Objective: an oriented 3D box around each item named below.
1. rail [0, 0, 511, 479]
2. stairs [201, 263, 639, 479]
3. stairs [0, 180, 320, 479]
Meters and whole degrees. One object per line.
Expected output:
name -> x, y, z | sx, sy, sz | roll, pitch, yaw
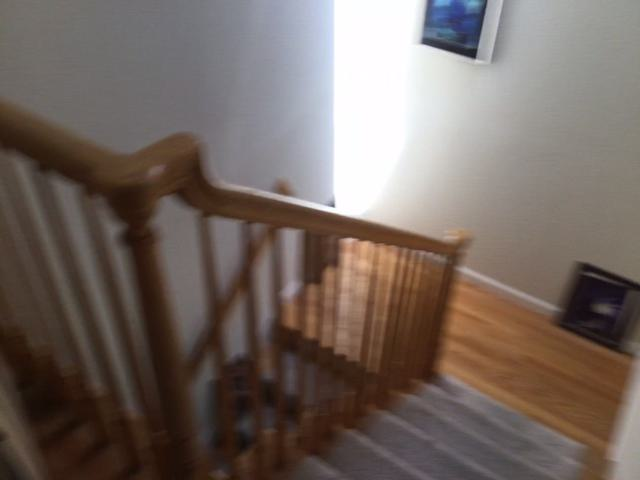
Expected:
rail -> 0.140, 0.210, 1.870 | 0.310, 1.930, 1.630 | 16, 44, 31
stairs -> 0.470, 0.880, 2.050 | 1.130, 0.840, 1.120 | 16, 44, 31
stairs -> -0.610, 0.520, 2.930 | 0.220, 0.920, 1.660 | 17, 44, 31
